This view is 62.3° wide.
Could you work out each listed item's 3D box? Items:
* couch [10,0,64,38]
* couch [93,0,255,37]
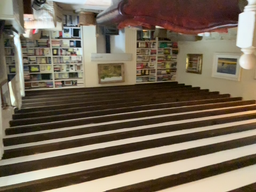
[{"bbox_3d":[-2.300,-1.970,5.510,0.960,0.860,1.000,-1,-167,-5],"label":"couch"},{"bbox_3d":[0.720,-1.440,3.320,2.330,0.900,1.080,-4,-167,-20],"label":"couch"}]
